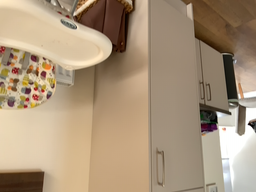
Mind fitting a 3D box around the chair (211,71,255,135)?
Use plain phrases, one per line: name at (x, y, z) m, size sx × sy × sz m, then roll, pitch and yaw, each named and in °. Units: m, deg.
chair at (1.790, 0.150, 3.500) m, size 0.630 × 0.930 × 0.400 m, roll -8°, pitch 164°, yaw 31°
